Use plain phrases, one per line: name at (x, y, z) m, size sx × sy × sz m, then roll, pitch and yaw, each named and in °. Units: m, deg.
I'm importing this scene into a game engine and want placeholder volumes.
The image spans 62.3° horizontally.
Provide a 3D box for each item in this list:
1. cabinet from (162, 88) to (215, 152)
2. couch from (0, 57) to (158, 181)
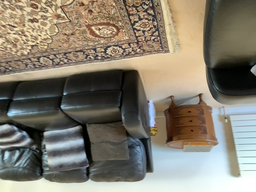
cabinet at (0.710, 0.310, 2.570) m, size 0.510 × 0.600 × 0.500 m, roll -5°, pitch 152°, yaw 14°
couch at (-0.800, 0.430, 2.510) m, size 2.110 × 0.940 × 1.230 m, roll -5°, pitch 152°, yaw 14°
